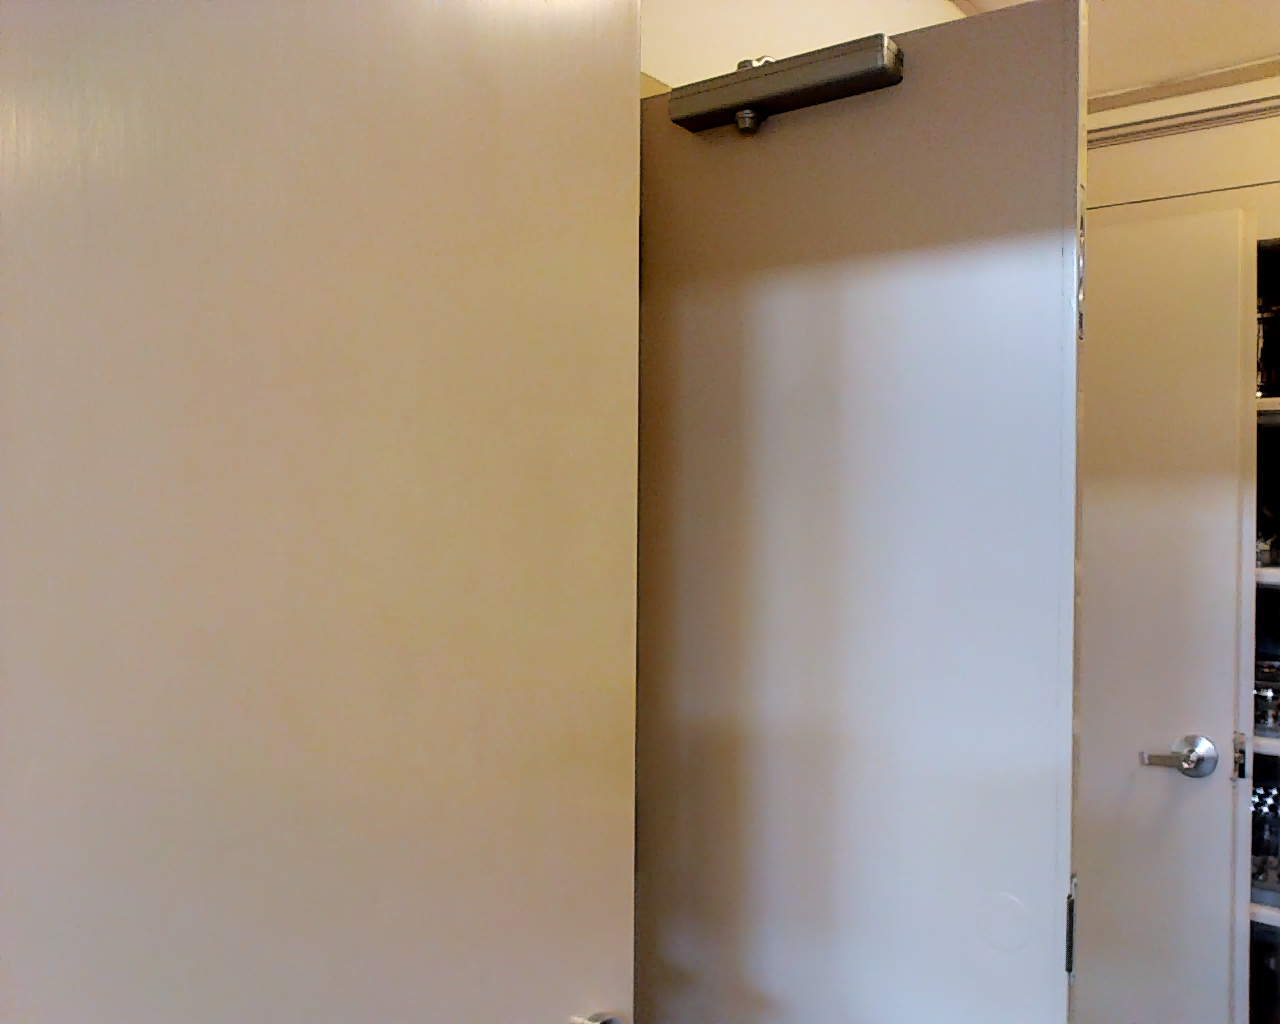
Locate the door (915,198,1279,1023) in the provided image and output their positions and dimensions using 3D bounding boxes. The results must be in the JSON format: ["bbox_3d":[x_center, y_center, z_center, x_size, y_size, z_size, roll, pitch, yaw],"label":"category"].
[{"bbox_3d":[0.940,0.460,2.290,0.710,2.120,0.060,1,0,39],"label":"door"}]

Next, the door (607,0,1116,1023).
[{"bbox_3d":[0.250,0.430,1.420,0.670,2.180,0.090,1,0,37],"label":"door"}]
